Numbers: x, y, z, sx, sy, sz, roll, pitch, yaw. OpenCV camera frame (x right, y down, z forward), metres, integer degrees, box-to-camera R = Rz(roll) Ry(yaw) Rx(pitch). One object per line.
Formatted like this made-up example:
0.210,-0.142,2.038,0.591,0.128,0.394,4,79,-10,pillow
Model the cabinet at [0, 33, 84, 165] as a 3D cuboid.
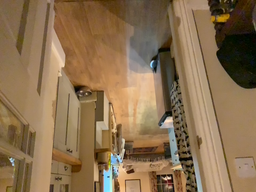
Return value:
-0.760,0.120,2.170,0.410,1.040,1.010,-3,159,-2,cabinet
